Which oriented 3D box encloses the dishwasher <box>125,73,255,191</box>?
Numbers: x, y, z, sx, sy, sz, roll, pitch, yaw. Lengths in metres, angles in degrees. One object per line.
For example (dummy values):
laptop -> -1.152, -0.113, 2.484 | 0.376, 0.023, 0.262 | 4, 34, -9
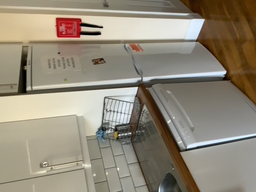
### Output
dishwasher -> 0.550, 0.270, 1.790 | 0.650, 0.910, 0.620 | -112, 26, -42
